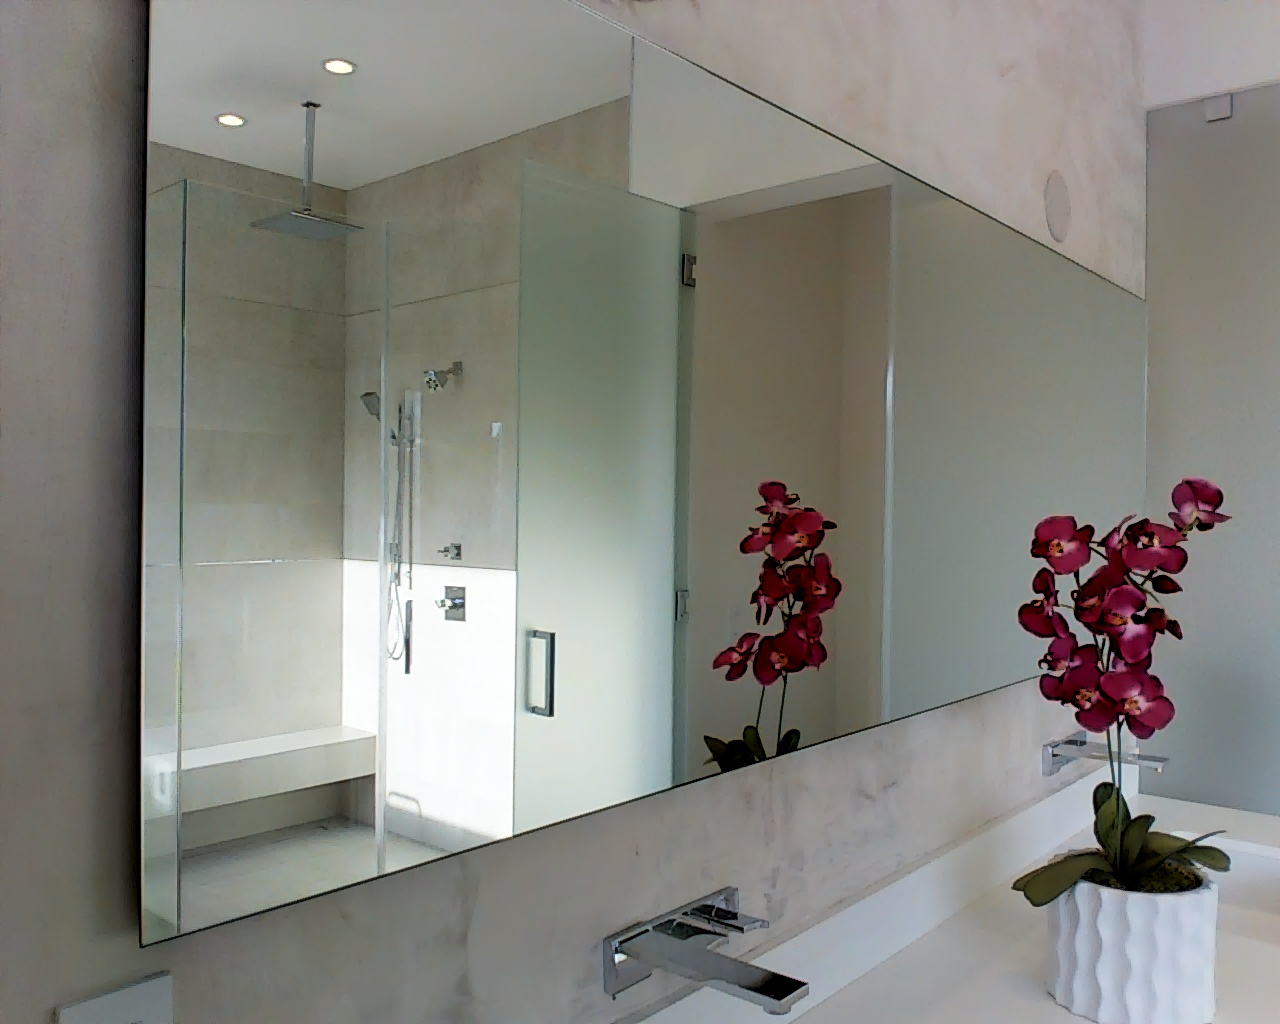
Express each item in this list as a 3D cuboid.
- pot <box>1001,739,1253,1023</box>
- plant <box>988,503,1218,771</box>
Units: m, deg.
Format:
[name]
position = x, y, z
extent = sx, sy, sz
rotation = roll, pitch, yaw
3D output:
[pot]
position = 0.640, 0.480, 1.410
extent = 0.240, 0.290, 0.230
rotation = 2, 1, 41
[plant]
position = 0.620, 0.150, 1.440
extent = 0.230, 0.320, 0.190
rotation = 2, 1, 41
